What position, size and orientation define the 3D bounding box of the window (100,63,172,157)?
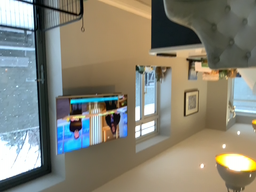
[{"bbox_3d":[0.210,0.140,3.870,0.590,1.420,1.390,4,-172,38],"label":"window"}]
